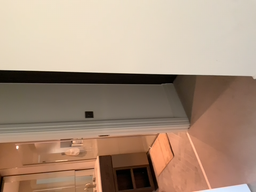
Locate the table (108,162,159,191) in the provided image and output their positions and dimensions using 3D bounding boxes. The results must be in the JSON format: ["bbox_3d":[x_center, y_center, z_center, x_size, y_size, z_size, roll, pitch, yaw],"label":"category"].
[{"bbox_3d":[0.070,1.390,3.480,0.410,0.700,0.390,110,153,-50],"label":"table"}]
